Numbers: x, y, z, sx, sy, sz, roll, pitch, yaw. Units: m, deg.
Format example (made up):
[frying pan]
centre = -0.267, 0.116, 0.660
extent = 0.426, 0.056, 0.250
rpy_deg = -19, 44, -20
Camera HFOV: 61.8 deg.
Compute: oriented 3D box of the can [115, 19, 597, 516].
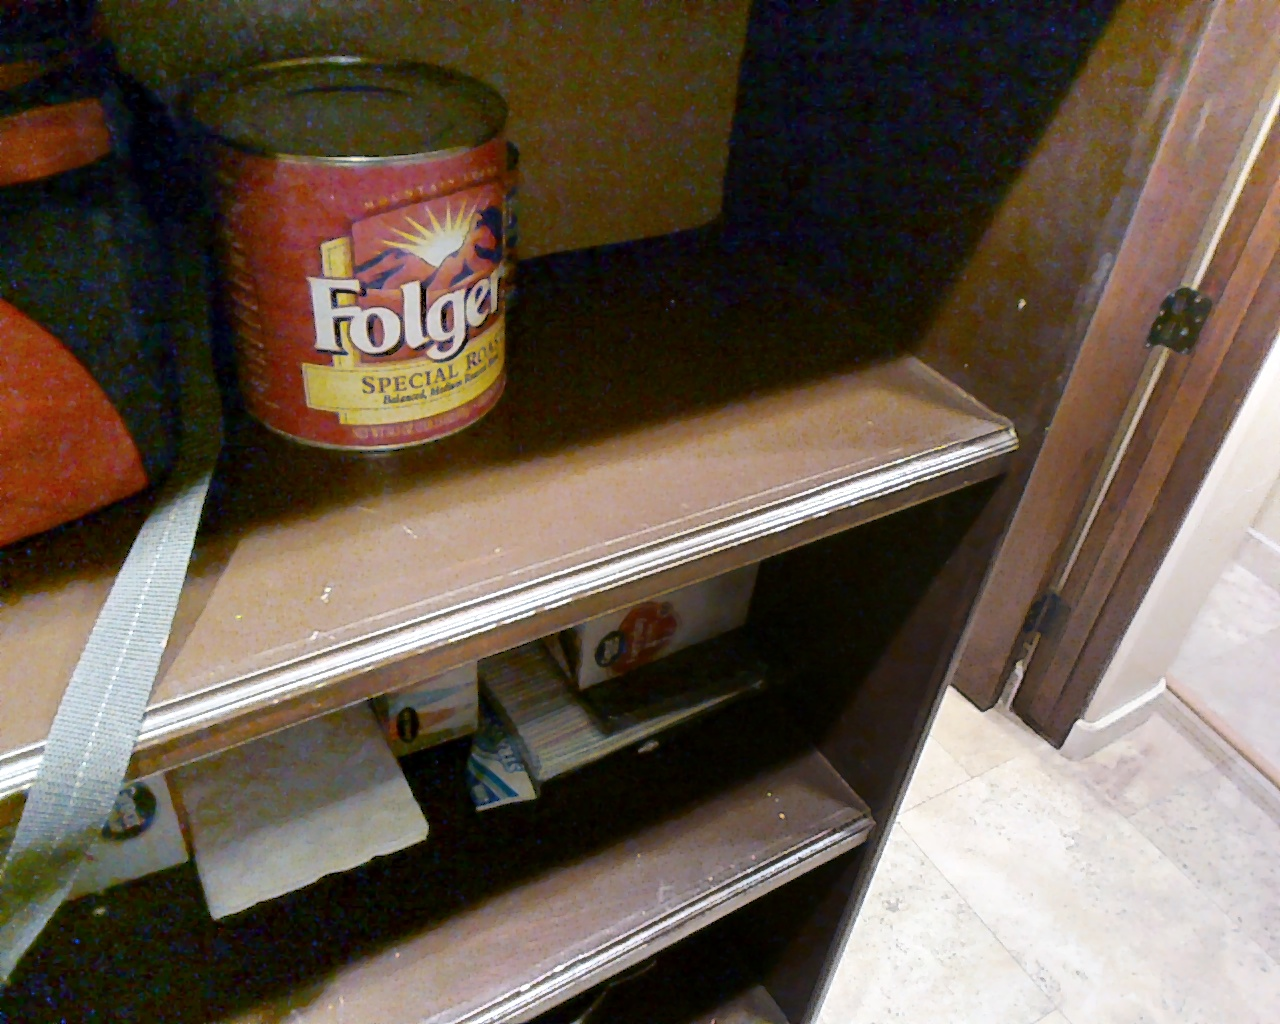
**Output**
[can]
centre = -0.150, -0.140, 0.570
extent = 0.190, 0.180, 0.180
rpy_deg = -12, 42, -22
